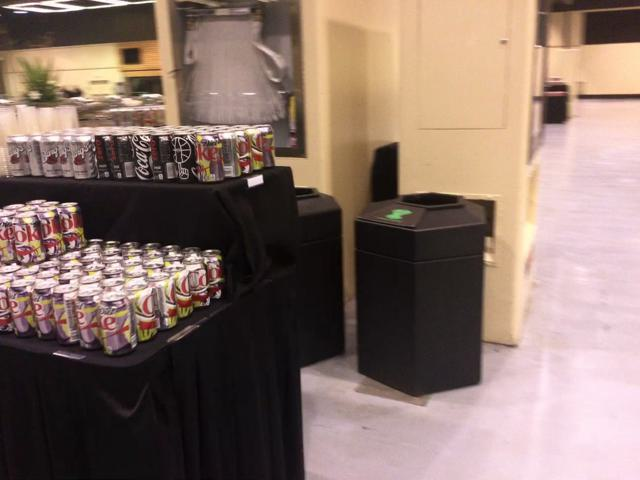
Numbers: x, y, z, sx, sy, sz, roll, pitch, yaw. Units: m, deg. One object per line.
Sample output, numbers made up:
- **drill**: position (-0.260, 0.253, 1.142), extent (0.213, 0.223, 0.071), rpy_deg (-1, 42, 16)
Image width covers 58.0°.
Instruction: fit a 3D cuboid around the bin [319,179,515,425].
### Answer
- **bin**: position (0.430, 0.210, 2.530), extent (0.650, 0.810, 0.610), rpy_deg (9, 17, 23)
